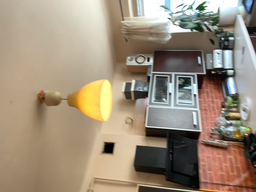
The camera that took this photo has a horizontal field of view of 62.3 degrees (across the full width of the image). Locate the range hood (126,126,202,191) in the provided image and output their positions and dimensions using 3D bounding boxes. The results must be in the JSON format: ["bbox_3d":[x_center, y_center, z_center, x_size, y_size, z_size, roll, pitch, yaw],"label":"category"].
[{"bbox_3d":[0.380,0.680,2.250,0.320,0.690,0.610,79,-164,-51],"label":"range hood"}]

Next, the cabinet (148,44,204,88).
[{"bbox_3d":[0.710,-0.460,3.210,0.340,0.750,0.580,80,-164,-49],"label":"cabinet"}]

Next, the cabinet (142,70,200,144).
[{"bbox_3d":[0.550,0.100,2.750,0.350,0.630,0.910,80,-164,-49],"label":"cabinet"}]
